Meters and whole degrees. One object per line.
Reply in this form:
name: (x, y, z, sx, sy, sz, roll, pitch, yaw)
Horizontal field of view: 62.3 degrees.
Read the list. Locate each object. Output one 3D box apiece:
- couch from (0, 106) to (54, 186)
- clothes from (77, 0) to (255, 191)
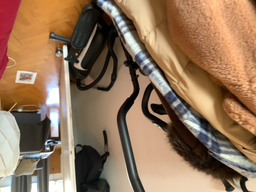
couch: (-2.090, 1.000, 3.900, 0.950, 1.040, 1.760, 4, 154, -32)
clothes: (0.180, -0.340, 1.020, 0.730, 1.350, 0.340, 6, 153, -36)
